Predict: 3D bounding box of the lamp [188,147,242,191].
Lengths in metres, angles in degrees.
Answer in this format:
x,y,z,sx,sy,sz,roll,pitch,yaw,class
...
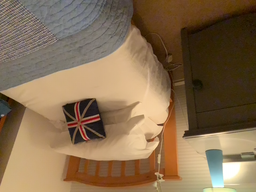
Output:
x,y,z,sx,sy,sz,roll,pitch,yaw,class
0.500,0.510,1.180,0.210,0.350,0.330,-13,146,27,lamp

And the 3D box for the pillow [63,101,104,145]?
x,y,z,sx,sy,sz,roll,pitch,yaw,class
-0.300,0.180,1.420,0.240,0.270,0.110,-6,178,28,pillow
